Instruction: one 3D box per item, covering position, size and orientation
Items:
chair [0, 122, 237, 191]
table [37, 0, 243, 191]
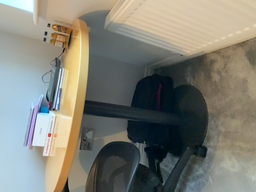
[{"bbox_3d":[-0.130,0.530,0.980,0.700,0.910,0.700,167,112,-64],"label":"chair"},{"bbox_3d":[-0.020,0.110,1.140,0.790,0.720,0.800,175,105,-66],"label":"table"}]
